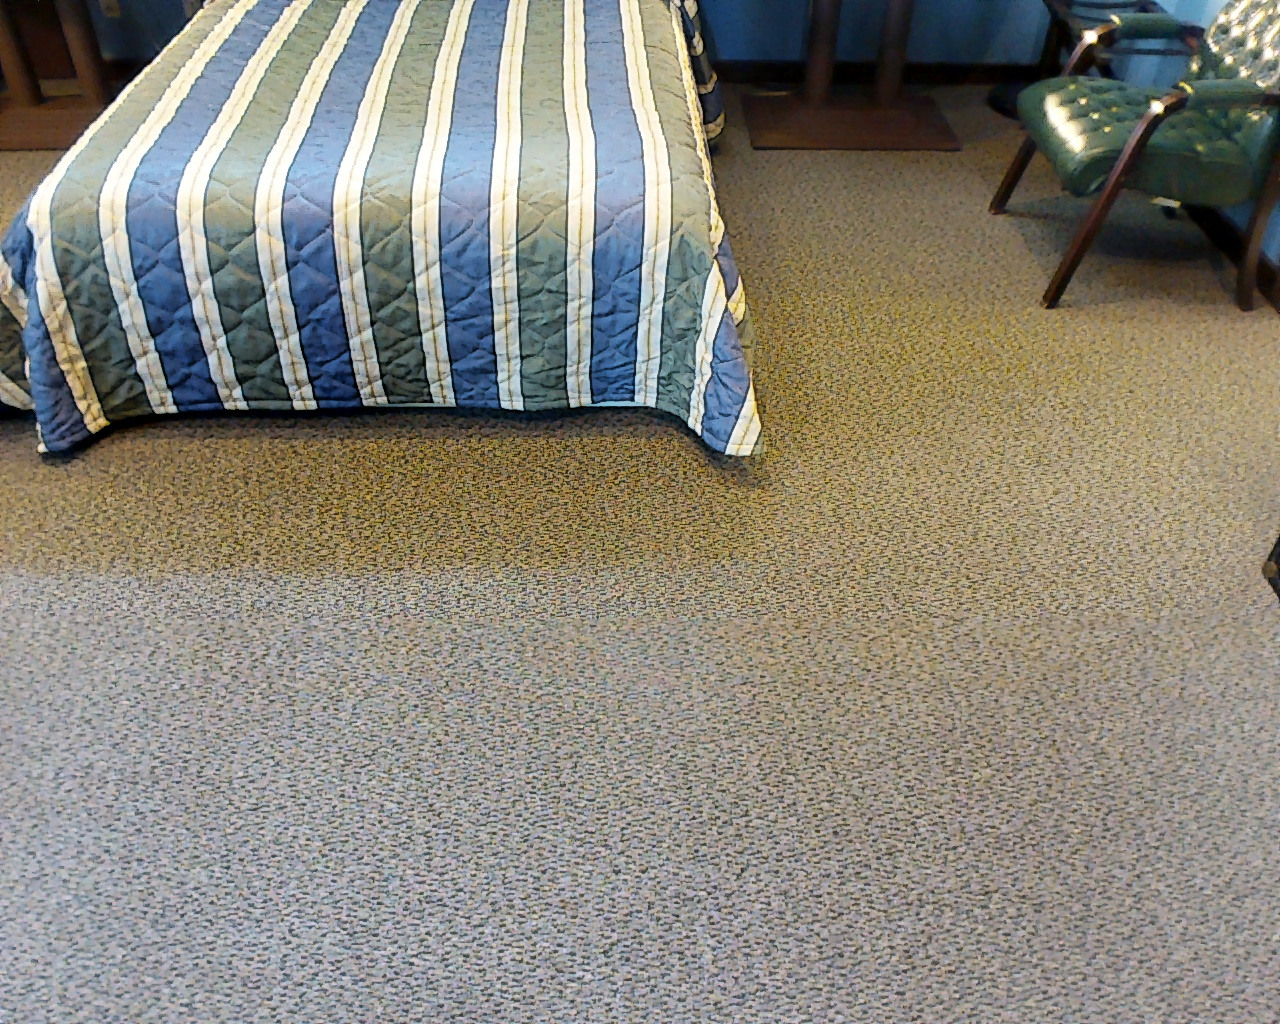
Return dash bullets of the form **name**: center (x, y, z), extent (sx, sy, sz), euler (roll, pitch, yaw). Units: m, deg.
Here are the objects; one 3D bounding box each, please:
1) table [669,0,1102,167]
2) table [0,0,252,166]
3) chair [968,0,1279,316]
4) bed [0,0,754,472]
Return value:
- **table**: center (0.780, -1.740, 3.810), extent (1.280, 0.670, 0.930), euler (-1, 41, -2)
- **table**: center (-2.140, -1.730, 3.730), extent (1.190, 0.680, 0.970), euler (0, 41, -2)
- **chair**: center (1.480, -1.110, 3.080), extent (0.720, 0.810, 0.740), euler (-1, 41, -2)
- **bed**: center (-0.690, -1.190, 3.140), extent (1.750, 0.680, 2.560), euler (0, 41, -1)
